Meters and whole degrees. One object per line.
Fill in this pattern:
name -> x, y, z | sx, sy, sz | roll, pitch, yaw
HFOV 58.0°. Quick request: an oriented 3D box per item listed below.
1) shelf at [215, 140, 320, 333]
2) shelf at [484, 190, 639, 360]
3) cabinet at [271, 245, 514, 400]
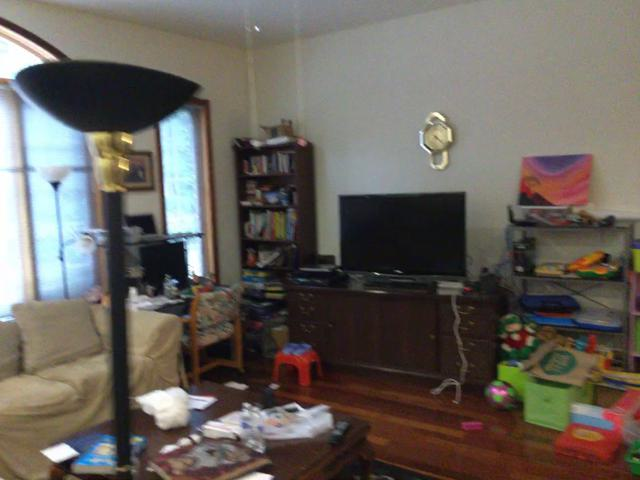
shelf -> -0.510, -0.060, 5.640 | 0.890, 1.760, 0.380 | 4, 11, 34
shelf -> 1.710, 0.190, 4.110 | 0.920, 1.050, 0.540 | 4, 11, 34
cabinet -> 0.530, 0.560, 4.560 | 1.800, 0.850, 0.600 | 4, 11, 34
